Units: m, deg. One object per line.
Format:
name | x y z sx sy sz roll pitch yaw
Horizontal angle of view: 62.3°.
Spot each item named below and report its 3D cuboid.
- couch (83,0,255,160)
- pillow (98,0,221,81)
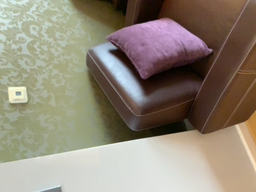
couch | 0.380 -0.350 1.130 0.810 0.810 0.900 54 133 38
pillow | 0.160 -0.340 1.100 0.480 0.370 0.200 34 131 21
